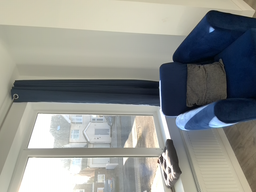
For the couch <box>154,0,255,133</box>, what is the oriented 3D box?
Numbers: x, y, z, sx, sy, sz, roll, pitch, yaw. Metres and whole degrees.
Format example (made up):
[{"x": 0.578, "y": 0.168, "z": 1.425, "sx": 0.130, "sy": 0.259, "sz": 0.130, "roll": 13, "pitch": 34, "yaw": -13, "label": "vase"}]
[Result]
[{"x": 0.790, "y": -0.150, "z": 1.940, "sx": 1.060, "sy": 0.840, "sz": 0.880, "roll": 117, "pitch": 154, "yaw": -74, "label": "couch"}]

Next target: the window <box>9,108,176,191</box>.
[{"x": -0.350, "y": 0.790, "z": 2.400, "sx": 1.590, "sy": 1.660, "sz": 0.130, "roll": -95, "pitch": 10, "yaw": -45, "label": "window"}]

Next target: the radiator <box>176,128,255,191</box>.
[{"x": 0.890, "y": 0.740, "z": 2.080, "sx": 1.030, "sy": 0.600, "sz": 0.060, "roll": -96, "pitch": 10, "yaw": -47, "label": "radiator"}]
